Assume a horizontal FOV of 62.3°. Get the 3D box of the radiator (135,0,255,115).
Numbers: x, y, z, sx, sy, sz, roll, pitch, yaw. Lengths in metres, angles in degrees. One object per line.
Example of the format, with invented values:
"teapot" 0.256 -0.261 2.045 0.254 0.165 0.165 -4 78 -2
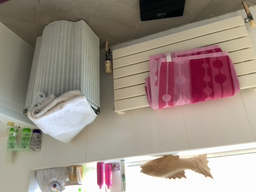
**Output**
"radiator" 0.370 -0.220 1.210 0.600 0.540 0.140 -12 155 16
